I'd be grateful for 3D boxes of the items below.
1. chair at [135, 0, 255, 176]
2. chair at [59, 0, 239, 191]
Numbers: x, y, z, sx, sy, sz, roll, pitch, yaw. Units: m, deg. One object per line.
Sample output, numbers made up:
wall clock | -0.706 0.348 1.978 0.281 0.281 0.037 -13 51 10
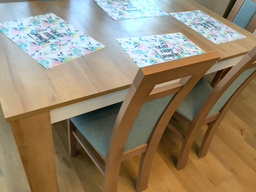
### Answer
chair | 0.450 -0.030 1.350 0.450 1.000 0.480 -17 50 -29
chair | -0.020 0.110 1.080 0.450 1.000 0.480 -17 50 -29
